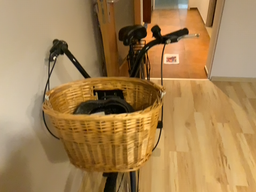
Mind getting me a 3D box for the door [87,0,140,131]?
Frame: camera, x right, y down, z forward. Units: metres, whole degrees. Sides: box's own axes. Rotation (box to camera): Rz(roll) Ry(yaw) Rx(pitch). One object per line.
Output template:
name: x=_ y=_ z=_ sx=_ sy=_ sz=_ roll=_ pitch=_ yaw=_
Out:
door: x=-0.080 y=-0.780 z=1.760 sx=0.130 sy=2.110 sz=0.870 roll=8 pitch=37 yaw=14
